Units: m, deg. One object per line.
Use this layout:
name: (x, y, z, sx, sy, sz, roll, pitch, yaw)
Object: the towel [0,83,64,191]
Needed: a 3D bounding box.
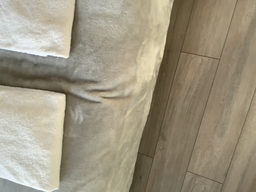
towel: (-0.430, 0.150, 0.770, 0.410, 0.050, 0.370, 10, 101, 18)
